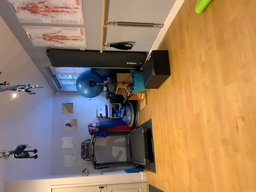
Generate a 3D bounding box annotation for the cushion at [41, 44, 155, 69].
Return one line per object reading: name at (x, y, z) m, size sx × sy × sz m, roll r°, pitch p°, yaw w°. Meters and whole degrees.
cushion at (-0.540, -0.720, 4.050) m, size 0.740 × 1.970 × 0.180 m, roll 131°, pitch 138°, yaw -76°
